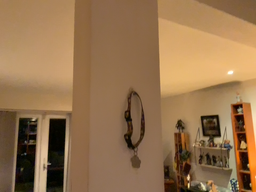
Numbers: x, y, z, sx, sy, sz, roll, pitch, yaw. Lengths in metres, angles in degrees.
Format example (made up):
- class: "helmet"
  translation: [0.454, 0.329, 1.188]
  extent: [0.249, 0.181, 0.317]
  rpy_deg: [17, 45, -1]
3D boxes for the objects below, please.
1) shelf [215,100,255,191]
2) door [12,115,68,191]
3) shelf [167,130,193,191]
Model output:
- class: "shelf"
  translation: [1.550, 1.080, 2.990]
  extent: [0.240, 2.000, 0.380]
  rpy_deg: [5, -11, -31]
- class: "door"
  translation: [-1.700, 1.390, 4.150]
  extent: [0.960, 2.010, 0.090]
  rpy_deg: [5, -11, -33]
- class: "shelf"
  translation: [0.980, 1.460, 4.010]
  extent: [0.240, 1.590, 0.360]
  rpy_deg: [5, -11, -31]
